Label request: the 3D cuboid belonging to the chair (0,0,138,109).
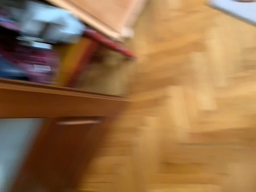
[{"bbox_3d":[-0.440,-0.240,0.960,0.520,0.940,0.360,33,101,26],"label":"chair"}]
